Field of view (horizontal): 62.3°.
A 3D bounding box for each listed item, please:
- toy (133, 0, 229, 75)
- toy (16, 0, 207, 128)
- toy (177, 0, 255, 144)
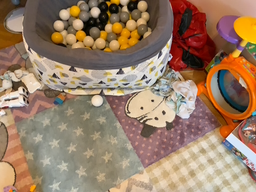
[{"bbox_3d":[0.320,-0.480,1.440,0.310,0.260,0.560,-24,65,-17],"label":"toy"},{"bbox_3d":[-0.170,-0.410,1.320,0.800,0.440,0.880,-19,63,-14],"label":"toy"},{"bbox_3d":[0.600,-0.120,1.140,0.280,0.520,0.550,-23,64,-16],"label":"toy"}]
